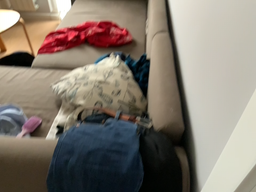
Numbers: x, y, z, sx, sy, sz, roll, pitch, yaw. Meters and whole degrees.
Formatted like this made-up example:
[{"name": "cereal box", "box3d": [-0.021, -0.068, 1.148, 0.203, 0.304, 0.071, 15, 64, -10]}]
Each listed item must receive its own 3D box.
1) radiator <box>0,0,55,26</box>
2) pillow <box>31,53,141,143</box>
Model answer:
[{"name": "radiator", "box3d": [-1.430, -1.330, 2.690, 0.800, 0.810, 0.160, 3, 43, 2]}, {"name": "pillow", "box3d": [-0.170, -0.010, 1.130, 0.460, 0.210, 0.450, 3, 43, 2]}]
